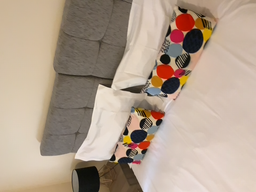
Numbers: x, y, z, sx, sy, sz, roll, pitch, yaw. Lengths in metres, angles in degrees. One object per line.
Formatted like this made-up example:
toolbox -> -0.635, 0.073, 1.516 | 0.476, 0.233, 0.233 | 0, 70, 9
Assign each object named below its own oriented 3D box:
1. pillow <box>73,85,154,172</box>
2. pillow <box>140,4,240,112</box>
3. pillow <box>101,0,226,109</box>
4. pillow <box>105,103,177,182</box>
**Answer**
pillow -> -0.130, 0.280, 1.610 | 0.110, 0.400, 0.680 | -99, 28, -57
pillow -> 0.320, -0.190, 1.230 | 0.130, 0.310, 0.540 | -91, 22, -56
pillow -> 0.170, -0.310, 1.280 | 0.130, 0.450, 0.770 | -98, 28, -56
pillow -> 0.070, 0.390, 1.650 | 0.160, 0.300, 0.660 | -88, 19, -54
